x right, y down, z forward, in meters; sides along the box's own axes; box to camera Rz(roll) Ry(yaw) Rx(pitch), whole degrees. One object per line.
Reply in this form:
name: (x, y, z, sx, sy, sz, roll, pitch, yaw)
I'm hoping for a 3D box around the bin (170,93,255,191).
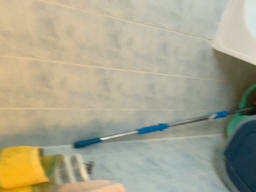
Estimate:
bin: (0.720, 0.320, 1.000, 0.800, 0.590, 0.370, 41, 122, 55)
